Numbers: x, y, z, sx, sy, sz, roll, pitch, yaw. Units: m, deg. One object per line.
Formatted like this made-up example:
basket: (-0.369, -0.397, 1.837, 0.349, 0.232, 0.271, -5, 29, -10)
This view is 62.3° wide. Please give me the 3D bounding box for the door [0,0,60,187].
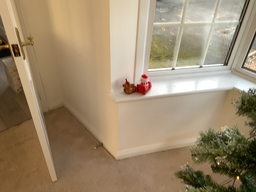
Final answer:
door: (-0.650, -0.420, 1.210, 0.050, 2.030, 0.880, -14, 40, -22)
